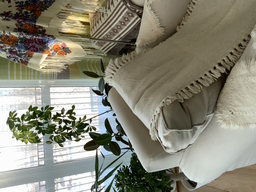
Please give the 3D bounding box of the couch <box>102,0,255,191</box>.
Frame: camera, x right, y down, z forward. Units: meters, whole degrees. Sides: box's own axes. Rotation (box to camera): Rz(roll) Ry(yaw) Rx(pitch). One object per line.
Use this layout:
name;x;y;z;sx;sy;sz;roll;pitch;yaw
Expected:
couch;0.460;-0.170;1.030;0.820;0.800;0.980;59;142;44
